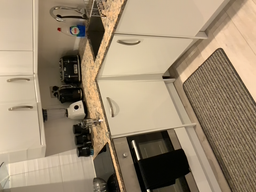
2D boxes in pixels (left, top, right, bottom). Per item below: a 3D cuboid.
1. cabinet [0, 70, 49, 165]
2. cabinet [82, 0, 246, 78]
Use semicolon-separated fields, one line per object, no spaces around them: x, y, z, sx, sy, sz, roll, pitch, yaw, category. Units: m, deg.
-1.160;0.190;1.810;0.380;0.810;0.720;-55;46;52;cabinet
0.230;-0.740;1.720;1.160;0.900;0.610;-55;46;52;cabinet
